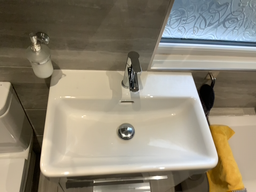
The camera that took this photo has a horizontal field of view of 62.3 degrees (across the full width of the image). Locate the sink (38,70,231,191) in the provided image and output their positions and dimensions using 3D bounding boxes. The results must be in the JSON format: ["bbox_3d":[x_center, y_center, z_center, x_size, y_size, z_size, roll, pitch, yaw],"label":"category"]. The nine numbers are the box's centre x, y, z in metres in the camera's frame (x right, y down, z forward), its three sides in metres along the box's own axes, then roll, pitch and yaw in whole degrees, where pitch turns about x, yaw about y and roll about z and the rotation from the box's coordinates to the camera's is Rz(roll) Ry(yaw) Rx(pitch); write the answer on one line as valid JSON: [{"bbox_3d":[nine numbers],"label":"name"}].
[{"bbox_3d":[0.010,0.100,0.770,0.570,0.140,0.380,-1,58,-10],"label":"sink"}]
